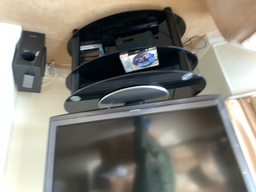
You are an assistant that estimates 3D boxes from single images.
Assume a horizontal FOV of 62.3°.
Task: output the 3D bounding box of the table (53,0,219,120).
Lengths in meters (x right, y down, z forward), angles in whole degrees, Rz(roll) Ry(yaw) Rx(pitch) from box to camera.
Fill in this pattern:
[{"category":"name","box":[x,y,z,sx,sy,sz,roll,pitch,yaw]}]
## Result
[{"category":"table","box":[0.030,-0.210,1.390,0.850,0.480,0.460,-8,150,1]}]
